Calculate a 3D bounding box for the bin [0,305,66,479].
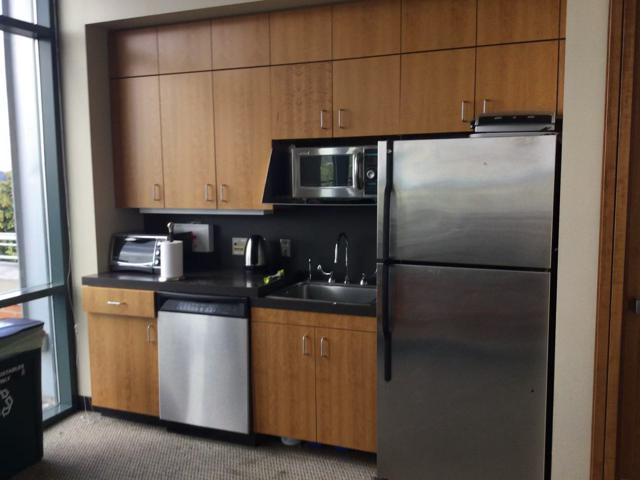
[{"bbox_3d":[-1.640,0.780,2.880,0.350,0.790,0.610,3,5,20],"label":"bin"}]
